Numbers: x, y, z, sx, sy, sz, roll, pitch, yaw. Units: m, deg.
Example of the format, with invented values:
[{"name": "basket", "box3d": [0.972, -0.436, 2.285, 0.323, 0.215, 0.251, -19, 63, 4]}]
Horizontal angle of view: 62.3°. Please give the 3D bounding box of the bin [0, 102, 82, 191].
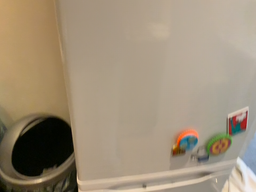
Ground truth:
[{"name": "bin", "box3d": [-0.420, 0.450, 1.100, 0.320, 0.670, 0.460, -4, 34, -11]}]
